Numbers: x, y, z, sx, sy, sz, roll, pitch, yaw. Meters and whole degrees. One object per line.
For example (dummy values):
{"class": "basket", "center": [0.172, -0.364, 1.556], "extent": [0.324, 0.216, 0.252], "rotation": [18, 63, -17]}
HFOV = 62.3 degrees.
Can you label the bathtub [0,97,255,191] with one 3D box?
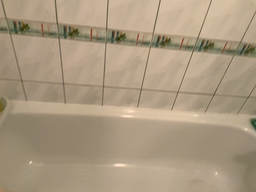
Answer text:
{"class": "bathtub", "center": [0.010, 0.500, 1.140], "extent": [1.640, 0.570, 0.700], "rotation": [4, 41, -7]}
